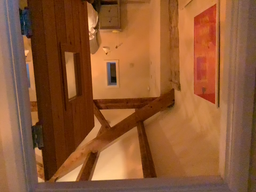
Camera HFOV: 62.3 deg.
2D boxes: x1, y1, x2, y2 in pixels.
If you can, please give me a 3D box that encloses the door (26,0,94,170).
[{"bbox_3d":[-0.360,-0.630,1.240,0.070,1.830,0.840,-1,-171,3],"label":"door"}]
